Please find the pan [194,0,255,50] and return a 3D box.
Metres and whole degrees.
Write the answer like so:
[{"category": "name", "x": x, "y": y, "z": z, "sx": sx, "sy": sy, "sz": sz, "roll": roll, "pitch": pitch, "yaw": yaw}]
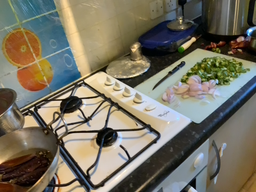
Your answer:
[{"category": "pan", "x": 0.490, "y": -0.420, "z": 0.960, "sx": 0.270, "sy": 0.290, "sz": 0.250, "roll": -33, "pitch": 40, "yaw": -26}]
